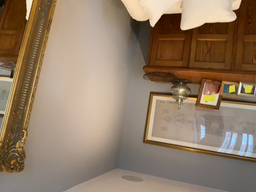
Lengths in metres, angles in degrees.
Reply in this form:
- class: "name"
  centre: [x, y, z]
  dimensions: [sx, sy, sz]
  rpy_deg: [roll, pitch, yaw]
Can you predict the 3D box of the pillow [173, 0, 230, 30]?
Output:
- class: "pillow"
  centre: [0.620, -0.780, 1.740]
  dimensions: [0.390, 0.320, 0.320]
  rpy_deg: [4, 168, 26]
